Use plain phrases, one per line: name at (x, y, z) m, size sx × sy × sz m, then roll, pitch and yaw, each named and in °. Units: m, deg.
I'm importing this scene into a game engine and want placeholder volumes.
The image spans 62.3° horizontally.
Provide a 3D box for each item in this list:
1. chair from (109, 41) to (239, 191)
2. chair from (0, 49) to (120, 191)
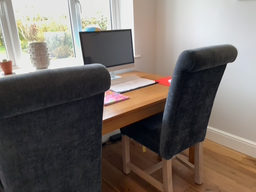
chair at (0.280, 0.180, 1.570) m, size 0.430 × 1.090 × 0.720 m, roll -17°, pitch 24°, yaw -37°
chair at (-0.410, 0.360, 1.080) m, size 0.440 × 1.090 × 0.630 m, roll -17°, pitch 24°, yaw -37°
